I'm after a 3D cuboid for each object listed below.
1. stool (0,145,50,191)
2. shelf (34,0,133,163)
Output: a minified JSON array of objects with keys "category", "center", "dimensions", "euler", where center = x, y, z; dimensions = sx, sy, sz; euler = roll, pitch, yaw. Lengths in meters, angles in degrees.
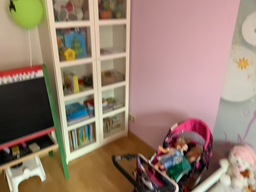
[{"category":"stool","center":[-0.950,0.670,1.960],"dimensions":[0.320,0.200,0.280],"euler":[-19,32,-38]},{"category":"shelf","center":[-0.370,-0.360,2.070],"dimensions":[0.810,2.000,0.260],"euler":[-16,30,-34]}]
